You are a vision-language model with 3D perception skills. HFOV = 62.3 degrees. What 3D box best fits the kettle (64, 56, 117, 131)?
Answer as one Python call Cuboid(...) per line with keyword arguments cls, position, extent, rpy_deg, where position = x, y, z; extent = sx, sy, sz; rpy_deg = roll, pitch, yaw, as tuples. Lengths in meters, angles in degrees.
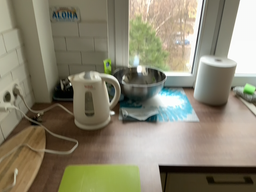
Cuboid(cls="kettle", position=(-0.150, -0.030, 0.990), extent=(0.180, 0.210, 0.350), rpy_deg=(0, 28, -1))
